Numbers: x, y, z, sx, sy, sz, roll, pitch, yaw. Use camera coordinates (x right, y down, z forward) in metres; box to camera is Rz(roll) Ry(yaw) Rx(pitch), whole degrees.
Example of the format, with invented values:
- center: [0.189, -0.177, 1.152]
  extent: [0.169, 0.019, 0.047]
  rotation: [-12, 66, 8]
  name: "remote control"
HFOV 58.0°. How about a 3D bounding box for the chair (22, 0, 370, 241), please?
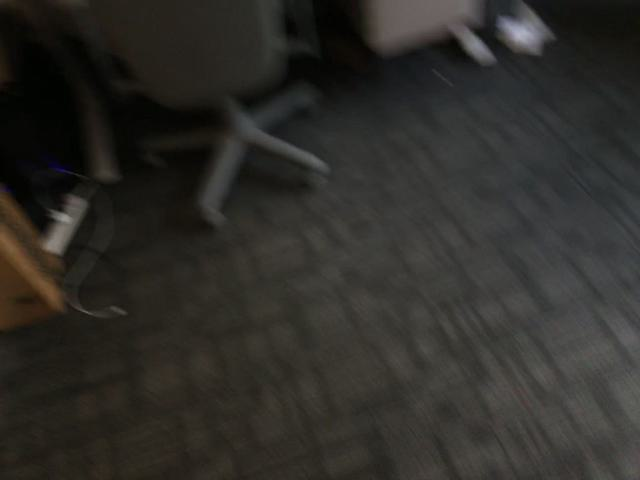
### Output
- center: [-0.320, -0.620, 1.620]
  extent: [0.640, 1.010, 0.600]
  rotation: [-19, 52, -1]
  name: "chair"
